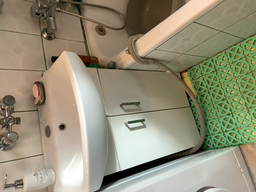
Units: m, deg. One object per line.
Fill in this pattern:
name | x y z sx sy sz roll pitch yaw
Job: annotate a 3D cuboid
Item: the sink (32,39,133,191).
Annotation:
sink | -0.220 0.100 0.870 0.380 0.160 0.510 -27 72 46
